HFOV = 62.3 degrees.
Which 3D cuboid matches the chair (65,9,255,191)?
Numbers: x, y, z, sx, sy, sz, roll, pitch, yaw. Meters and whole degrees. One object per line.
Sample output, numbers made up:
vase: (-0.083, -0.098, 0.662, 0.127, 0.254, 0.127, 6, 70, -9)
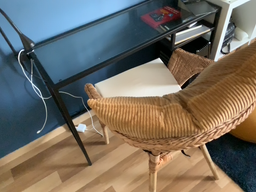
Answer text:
chair: (0.140, 0.120, 1.110, 0.580, 0.750, 0.690, -21, 50, -13)
